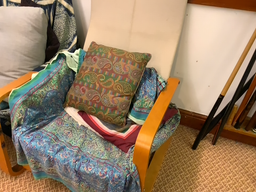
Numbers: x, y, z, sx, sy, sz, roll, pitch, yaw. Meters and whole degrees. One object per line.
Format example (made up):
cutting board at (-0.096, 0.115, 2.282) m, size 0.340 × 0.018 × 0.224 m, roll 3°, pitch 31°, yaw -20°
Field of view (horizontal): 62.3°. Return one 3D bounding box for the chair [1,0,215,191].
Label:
chair at (-0.030, -0.090, 1.130) m, size 0.650 × 0.930 × 0.660 m, roll 18°, pitch 39°, yaw 20°
